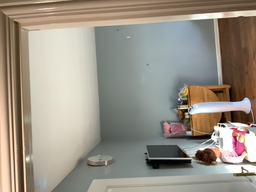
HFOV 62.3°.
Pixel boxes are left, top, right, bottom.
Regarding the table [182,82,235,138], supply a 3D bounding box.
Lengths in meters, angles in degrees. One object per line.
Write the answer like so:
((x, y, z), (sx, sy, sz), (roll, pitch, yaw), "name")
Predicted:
((1.400, 0.250, 3.760), (0.360, 0.740, 0.900), (64, -157, -85), "table")
